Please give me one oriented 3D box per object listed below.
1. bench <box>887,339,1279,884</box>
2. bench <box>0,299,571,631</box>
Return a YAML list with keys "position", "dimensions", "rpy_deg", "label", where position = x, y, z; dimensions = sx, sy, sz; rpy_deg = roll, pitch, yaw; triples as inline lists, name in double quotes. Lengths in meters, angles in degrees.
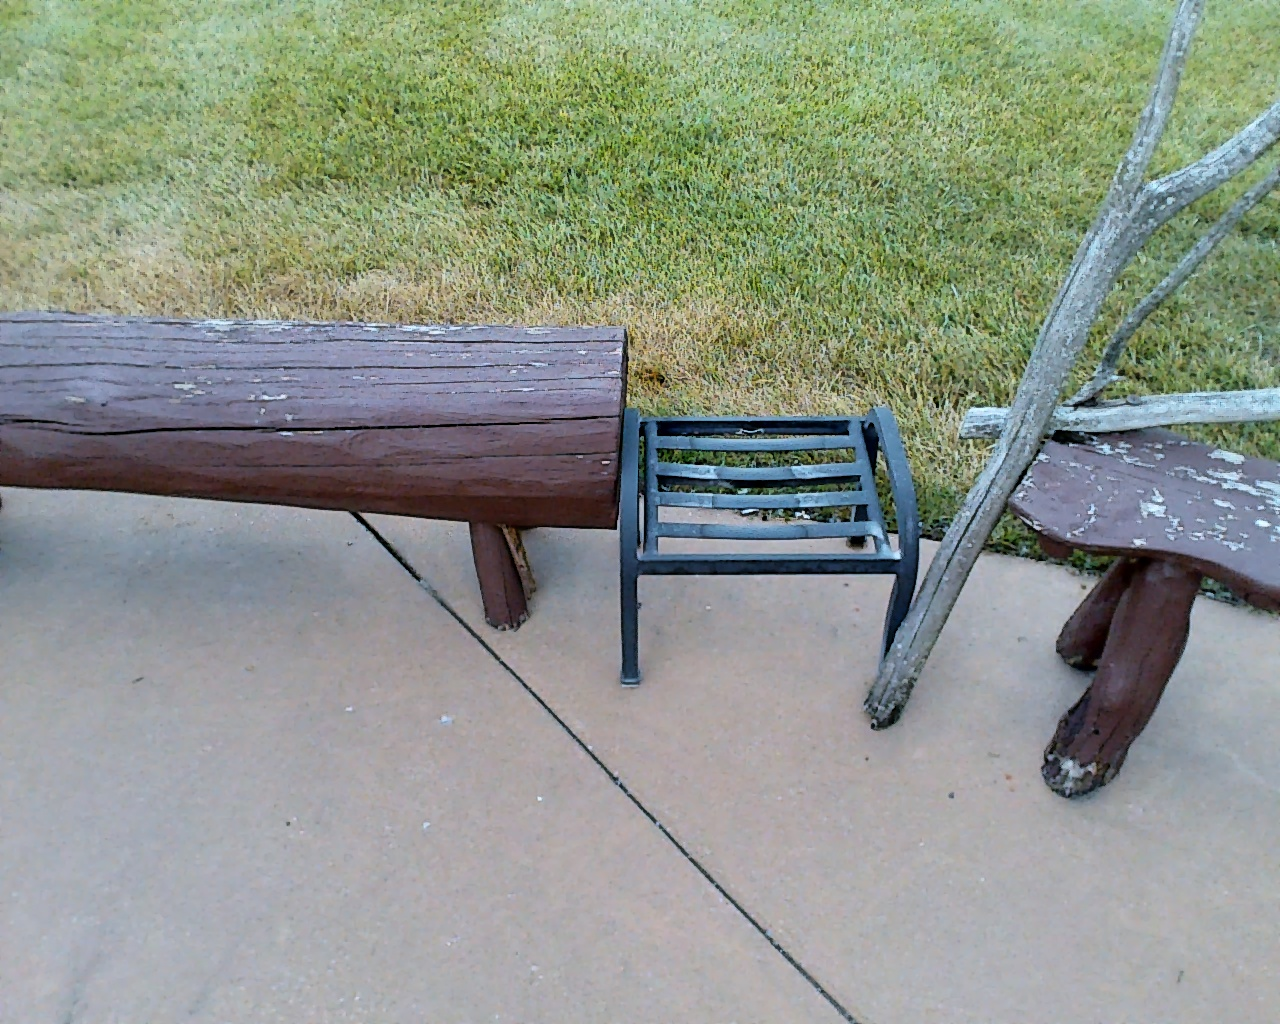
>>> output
- position: [1.240, 0.280, 1.640]
  dimensions: [1.550, 0.540, 0.500]
  rpy_deg: [20, 45, 23]
  label: "bench"
- position: [-0.980, -0.090, 2.090]
  dimensions: [1.640, 0.540, 0.320]
  rpy_deg: [1, 41, 2]
  label: "bench"
